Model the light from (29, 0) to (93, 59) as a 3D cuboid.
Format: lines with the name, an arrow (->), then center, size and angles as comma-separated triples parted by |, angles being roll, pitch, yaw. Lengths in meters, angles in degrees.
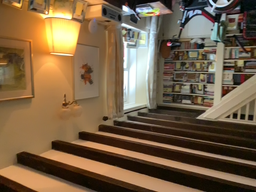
light -> -0.650, -0.710, 2.130 | 0.290, 0.640, 0.540 | 6, -172, 33

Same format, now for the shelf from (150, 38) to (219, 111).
shelf -> 1.230, -0.500, 4.830 | 1.440, 1.510, 0.190 | 5, -172, 28
